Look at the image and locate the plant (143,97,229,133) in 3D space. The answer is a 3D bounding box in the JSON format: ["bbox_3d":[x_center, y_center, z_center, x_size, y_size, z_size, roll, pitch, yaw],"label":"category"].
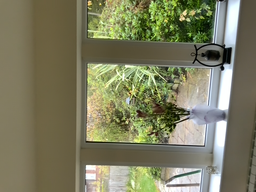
[{"bbox_3d":[0.510,0.160,2.010,0.430,0.670,0.250,-121,34,-86],"label":"plant"}]
